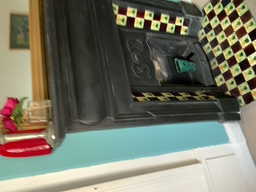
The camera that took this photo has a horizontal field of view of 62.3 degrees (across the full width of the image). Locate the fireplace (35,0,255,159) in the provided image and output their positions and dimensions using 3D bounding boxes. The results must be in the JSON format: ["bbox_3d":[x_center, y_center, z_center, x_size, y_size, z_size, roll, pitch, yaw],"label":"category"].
[{"bbox_3d":[0.100,-0.310,1.500,0.390,1.330,1.240,-43,53,54],"label":"fireplace"}]
